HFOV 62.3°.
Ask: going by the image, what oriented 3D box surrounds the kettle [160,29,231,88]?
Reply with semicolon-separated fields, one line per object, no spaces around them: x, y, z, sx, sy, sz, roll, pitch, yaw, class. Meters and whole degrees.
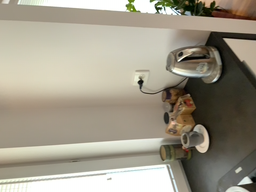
0.330;-0.190;1.100;0.200;0.230;0.220;104;161;-47;kettle
